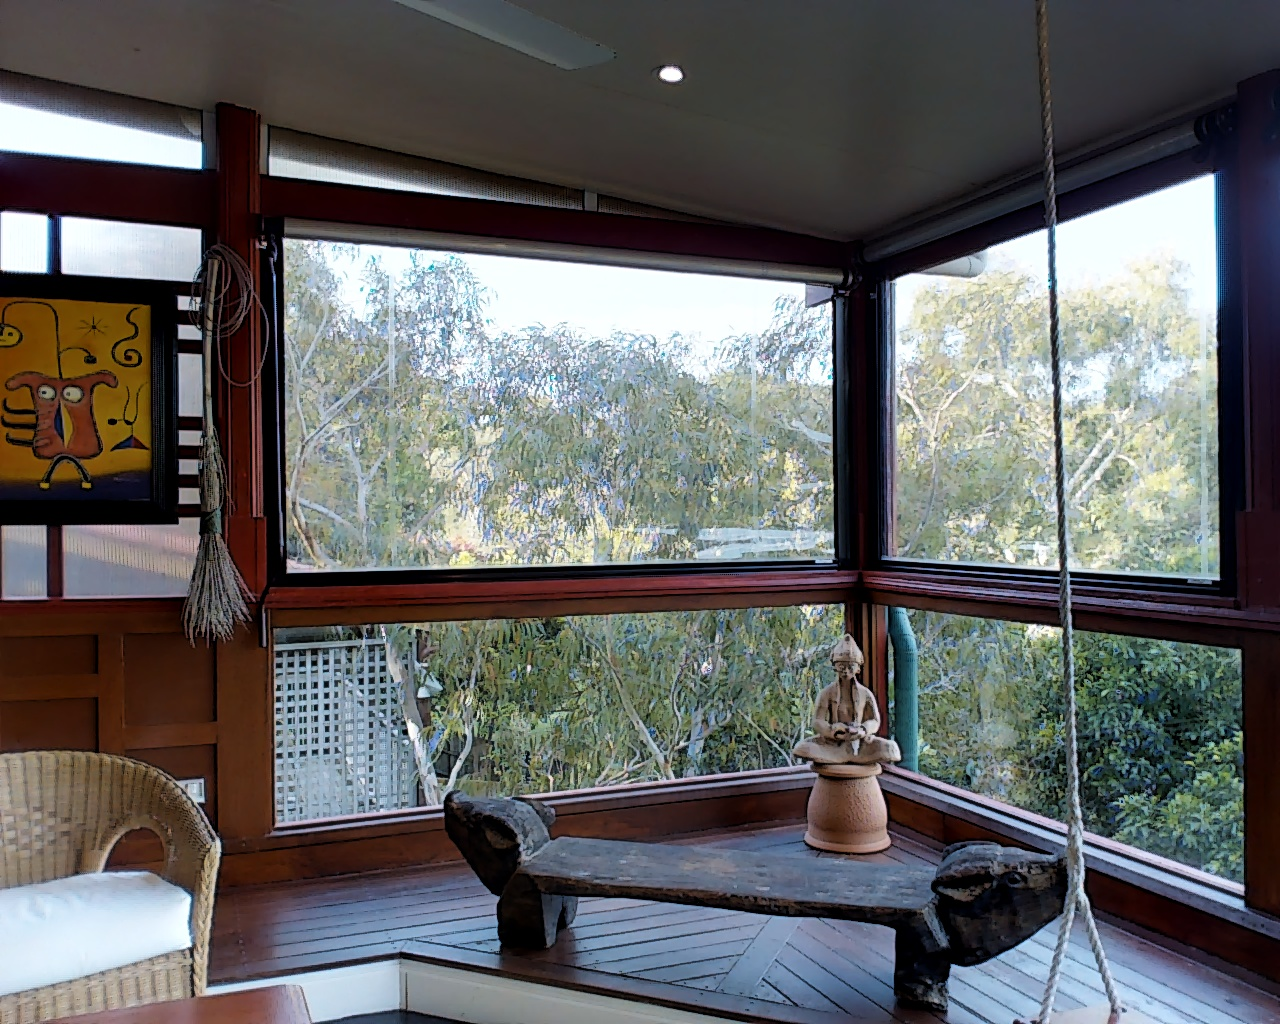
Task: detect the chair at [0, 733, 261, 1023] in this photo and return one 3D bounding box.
[{"bbox_3d":[-1.220,0.920,2.200,0.660,0.750,0.680,0,-1,-37],"label":"chair"}]

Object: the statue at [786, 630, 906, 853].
[{"bbox_3d":[0.730,0.790,3.790,0.370,0.710,0.250,0,-1,22],"label":"statue"}]

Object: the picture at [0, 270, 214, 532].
[{"bbox_3d":[-1.839,-0.320,3.200,1.060,0.760,0.140,0,-1,-22],"label":"picture"}]
